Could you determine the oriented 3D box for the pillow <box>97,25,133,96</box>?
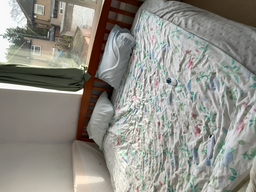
[{"bbox_3d":[-0.170,-0.400,2.380,0.430,0.140,0.670,-125,45,-54],"label":"pillow"}]
